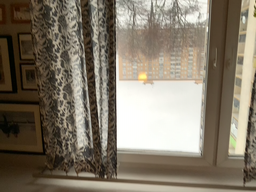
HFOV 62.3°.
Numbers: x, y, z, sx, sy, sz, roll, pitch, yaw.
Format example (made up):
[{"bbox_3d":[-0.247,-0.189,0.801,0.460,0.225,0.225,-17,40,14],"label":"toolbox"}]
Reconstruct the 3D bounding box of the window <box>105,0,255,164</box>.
[{"bbox_3d":[0.660,-0.230,1.580,1.630,1.500,0.150,1,-167,8],"label":"window"}]
